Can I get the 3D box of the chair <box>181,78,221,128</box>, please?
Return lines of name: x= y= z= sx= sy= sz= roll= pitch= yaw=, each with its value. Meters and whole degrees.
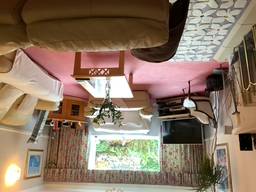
chair: x=1.500 y=0.170 z=4.470 sx=0.590 sy=0.910 sz=0.660 roll=0 pitch=165 yaw=5

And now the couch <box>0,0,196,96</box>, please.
couch: x=-0.470 y=-0.600 z=1.570 sx=1.610 sy=0.950 sz=1.050 roll=0 pitch=165 yaw=5

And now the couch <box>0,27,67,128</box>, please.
couch: x=-1.990 y=-0.080 z=3.610 sx=1.040 sy=0.990 sz=2.240 roll=0 pitch=165 yaw=5

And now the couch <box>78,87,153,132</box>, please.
couch: x=-0.240 y=0.380 z=5.320 sx=1.660 sy=0.930 sz=0.990 roll=-1 pitch=165 yaw=9
